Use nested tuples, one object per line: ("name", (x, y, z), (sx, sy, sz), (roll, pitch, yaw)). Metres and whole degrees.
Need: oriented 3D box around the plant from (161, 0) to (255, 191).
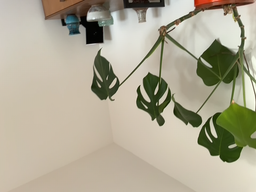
("plant", (0.450, -0.090, 0.840), (0.270, 0.920, 0.560), (-19, -159, -34))
